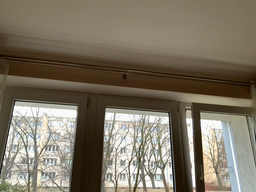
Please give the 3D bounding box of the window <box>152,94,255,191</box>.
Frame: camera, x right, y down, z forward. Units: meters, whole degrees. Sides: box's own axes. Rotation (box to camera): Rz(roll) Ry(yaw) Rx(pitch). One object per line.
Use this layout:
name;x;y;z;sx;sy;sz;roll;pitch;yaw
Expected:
window;0.840;0.820;2.250;1.020;1.540;0.450;6;-21;-13
